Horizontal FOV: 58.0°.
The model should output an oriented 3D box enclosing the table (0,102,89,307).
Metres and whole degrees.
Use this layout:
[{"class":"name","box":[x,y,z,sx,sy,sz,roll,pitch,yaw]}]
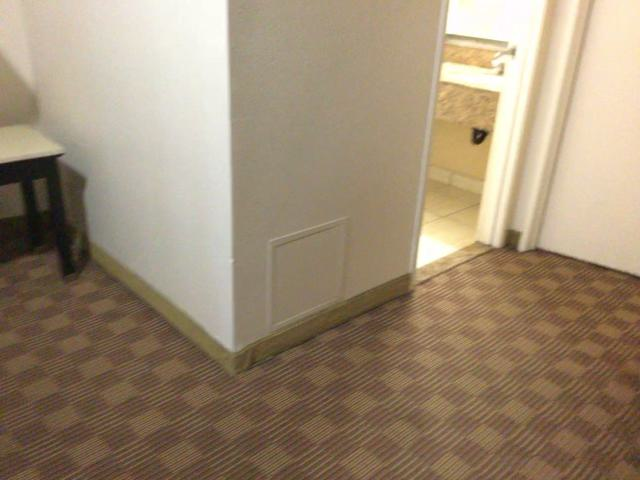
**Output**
[{"class":"table","box":[-1.450,-0.150,2.400,0.650,0.680,0.620,-19,31,-40]}]
